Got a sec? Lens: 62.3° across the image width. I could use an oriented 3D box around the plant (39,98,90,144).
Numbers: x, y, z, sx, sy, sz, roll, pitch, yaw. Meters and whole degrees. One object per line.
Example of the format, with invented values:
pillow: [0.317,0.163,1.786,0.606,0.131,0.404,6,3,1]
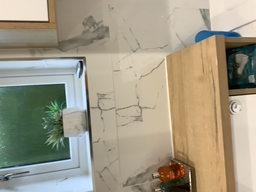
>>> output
plant: [-0.310,0.110,1.040,0.230,0.200,0.180,172,93,-73]
